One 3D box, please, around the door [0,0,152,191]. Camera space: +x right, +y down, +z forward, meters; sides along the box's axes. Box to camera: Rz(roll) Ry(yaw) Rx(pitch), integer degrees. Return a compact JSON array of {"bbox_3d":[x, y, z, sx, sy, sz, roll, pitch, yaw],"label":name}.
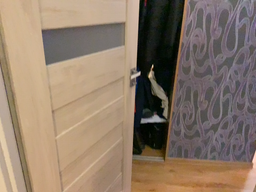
[{"bbox_3d":[-0.170,0.030,1.060,0.120,1.980,0.930,15,27,27],"label":"door"}]
